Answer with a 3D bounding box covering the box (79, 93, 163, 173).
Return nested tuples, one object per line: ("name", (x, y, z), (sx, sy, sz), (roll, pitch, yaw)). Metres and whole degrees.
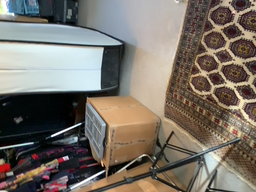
("box", (-0.100, 0.310, 2.080), (0.600, 0.550, 0.410), (44, 130, 47))
